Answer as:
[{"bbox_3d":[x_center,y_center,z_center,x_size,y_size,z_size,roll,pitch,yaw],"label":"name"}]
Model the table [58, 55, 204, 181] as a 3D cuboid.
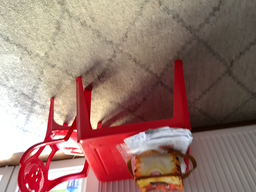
[{"bbox_3d":[0.040,0.140,1.200,0.620,0.400,0.500,-9,133,6],"label":"table"}]
